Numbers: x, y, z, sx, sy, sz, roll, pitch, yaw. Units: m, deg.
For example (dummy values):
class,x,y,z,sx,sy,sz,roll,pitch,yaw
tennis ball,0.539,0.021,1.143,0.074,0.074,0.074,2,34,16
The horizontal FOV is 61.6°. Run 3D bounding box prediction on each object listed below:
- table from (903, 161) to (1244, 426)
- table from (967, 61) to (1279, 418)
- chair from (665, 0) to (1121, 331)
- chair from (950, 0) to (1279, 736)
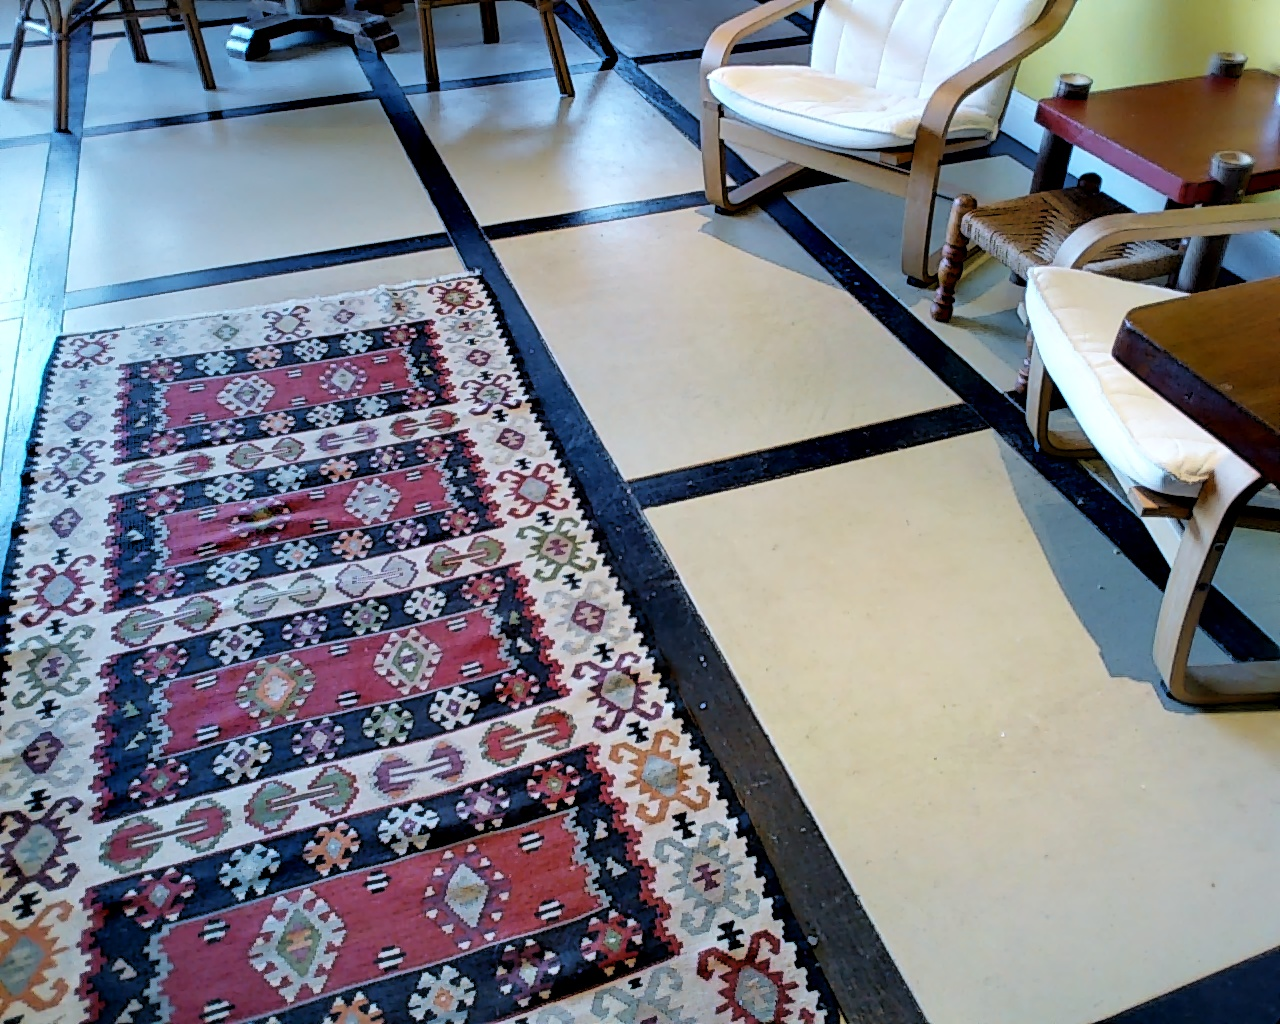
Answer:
class,x,y,z,sx,sy,sz,roll,pitch,yaw
table,0.920,-0.500,2.370,0.400,0.300,0.540,-14,42,-15
table,1.230,-0.640,2.420,0.640,0.480,0.610,-14,42,-15
chair,0.630,-1.160,2.670,0.750,0.950,0.860,30,49,31
chair,1.070,-0.280,1.620,0.850,0.950,0.770,-1,40,-1
